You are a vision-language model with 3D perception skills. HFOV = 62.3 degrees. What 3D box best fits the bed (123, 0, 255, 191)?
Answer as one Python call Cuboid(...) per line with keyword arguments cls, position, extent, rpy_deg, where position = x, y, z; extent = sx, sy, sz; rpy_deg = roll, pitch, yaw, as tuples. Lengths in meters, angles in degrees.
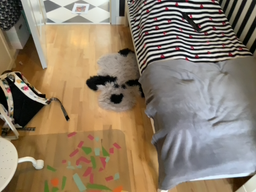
Cuboid(cls="bed", position=(0.550, -0.330, 1.890), extent=(1.020, 0.470, 2.120), rpy_deg=(-1, 48, -6))
